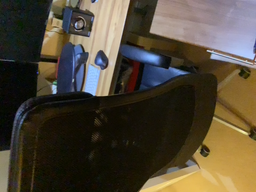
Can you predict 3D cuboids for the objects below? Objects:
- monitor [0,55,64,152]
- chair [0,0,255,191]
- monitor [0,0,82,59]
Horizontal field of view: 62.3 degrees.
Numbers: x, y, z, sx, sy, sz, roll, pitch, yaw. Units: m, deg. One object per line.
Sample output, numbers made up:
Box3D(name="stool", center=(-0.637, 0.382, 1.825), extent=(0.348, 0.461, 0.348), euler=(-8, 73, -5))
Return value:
Box3D(name="monitor", center=(-0.750, 0.060, 1.530), extent=(0.050, 0.530, 0.660), euler=(17, 103, 51))
Box3D(name="chair", center=(0.100, 0.040, 1.020), extent=(0.700, 1.270, 0.660), euler=(35, 117, 47))
Box3D(name="monitor", center=(-0.580, -0.530, 1.300), extent=(0.050, 0.530, 0.640), euler=(57, 131, 35))
